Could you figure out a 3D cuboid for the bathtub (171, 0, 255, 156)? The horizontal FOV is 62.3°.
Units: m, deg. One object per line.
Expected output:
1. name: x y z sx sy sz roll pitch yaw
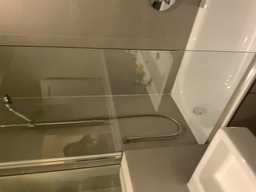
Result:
1. bathtub: 0.850 -0.440 1.300 0.680 0.550 1.680 -107 21 -48
